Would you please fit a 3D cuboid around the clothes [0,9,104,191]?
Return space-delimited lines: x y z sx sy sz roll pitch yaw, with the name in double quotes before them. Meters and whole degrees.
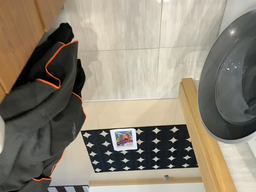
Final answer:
"clothes" -0.380 0.070 0.890 0.430 0.730 0.560 -3 132 2
